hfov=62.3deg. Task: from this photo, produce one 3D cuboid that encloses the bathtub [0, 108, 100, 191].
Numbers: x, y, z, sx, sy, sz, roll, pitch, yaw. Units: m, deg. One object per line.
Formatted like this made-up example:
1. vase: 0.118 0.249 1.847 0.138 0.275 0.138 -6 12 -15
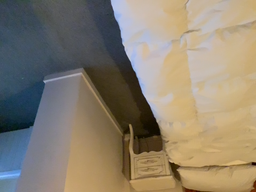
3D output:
1. bathtub: -1.250 0.740 2.450 1.640 0.590 0.770 -11 142 12
